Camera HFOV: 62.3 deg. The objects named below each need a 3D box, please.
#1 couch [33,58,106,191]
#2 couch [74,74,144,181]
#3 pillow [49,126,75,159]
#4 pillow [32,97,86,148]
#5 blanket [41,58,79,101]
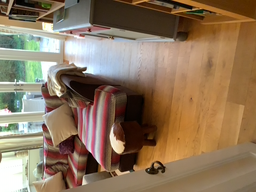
[{"bbox_3d":[-1.140,0.880,3.780,1.120,0.820,2.900,28,115,54],"label":"couch"},{"bbox_3d":[-0.320,0.330,2.810,0.970,0.440,1.040,29,116,54],"label":"couch"},{"bbox_3d":[-1.120,0.790,3.610,0.370,0.480,0.210,5,-171,-10],"label":"pillow"},{"bbox_3d":[-1.140,0.450,3.550,0.580,0.540,0.360,40,164,12],"label":"pillow"},{"bbox_3d":[-1.060,-0.280,3.220,0.760,0.370,0.550,19,107,56],"label":"blanket"}]
